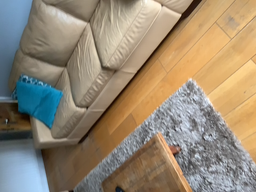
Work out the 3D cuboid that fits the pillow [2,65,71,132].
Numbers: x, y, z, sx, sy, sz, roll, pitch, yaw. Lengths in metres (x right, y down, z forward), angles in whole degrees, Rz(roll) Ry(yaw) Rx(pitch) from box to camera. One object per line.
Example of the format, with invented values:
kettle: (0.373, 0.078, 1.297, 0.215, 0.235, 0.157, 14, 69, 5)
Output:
pillow: (-1.000, 0.030, 2.380, 0.260, 0.460, 0.530, 35, 151, 42)
